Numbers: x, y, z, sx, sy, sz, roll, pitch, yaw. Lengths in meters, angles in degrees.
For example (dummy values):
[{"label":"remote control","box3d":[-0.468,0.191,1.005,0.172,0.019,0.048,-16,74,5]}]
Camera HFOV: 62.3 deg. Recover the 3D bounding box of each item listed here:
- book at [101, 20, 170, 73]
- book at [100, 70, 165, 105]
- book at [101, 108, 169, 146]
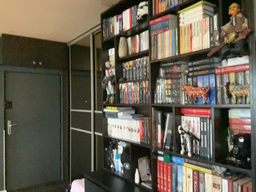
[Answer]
[{"label":"book","box3d":[0.040,-0.470,2.220,0.280,0.350,0.800,0,-1,-37]},{"label":"book","box3d":[0.020,-0.070,2.230,0.300,0.310,0.710,0,-1,-39]},{"label":"book","box3d":[0.040,0.290,2.200,0.260,0.290,0.770,0,-1,-39]}]
